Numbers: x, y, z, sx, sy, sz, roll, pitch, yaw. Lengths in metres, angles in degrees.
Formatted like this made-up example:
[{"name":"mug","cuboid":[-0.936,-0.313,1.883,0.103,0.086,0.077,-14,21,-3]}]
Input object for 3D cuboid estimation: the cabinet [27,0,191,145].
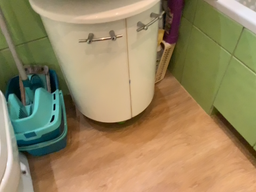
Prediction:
[{"name":"cabinet","cuboid":[-0.090,-0.190,0.890,0.440,0.560,0.420,-22,52,-15]}]
